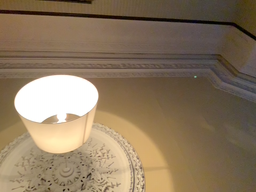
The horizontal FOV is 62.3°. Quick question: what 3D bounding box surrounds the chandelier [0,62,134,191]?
[{"bbox_3d":[-0.570,0.350,1.790,0.660,0.670,0.970,-12,105,48],"label":"chandelier"}]
